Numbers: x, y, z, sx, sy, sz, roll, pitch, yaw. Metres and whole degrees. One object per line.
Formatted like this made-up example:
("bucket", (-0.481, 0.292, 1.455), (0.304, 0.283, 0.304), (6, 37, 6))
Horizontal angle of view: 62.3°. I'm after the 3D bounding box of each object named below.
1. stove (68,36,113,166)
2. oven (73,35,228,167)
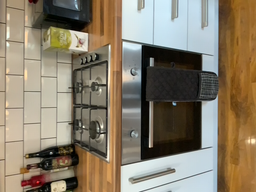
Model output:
("stove", (-0.240, 0.020, 1.230), (0.550, 0.030, 0.610), (1, 91, 56))
("oven", (0.160, 0.020, 1.480), (0.590, 0.900, 0.610), (1, 91, 56))
